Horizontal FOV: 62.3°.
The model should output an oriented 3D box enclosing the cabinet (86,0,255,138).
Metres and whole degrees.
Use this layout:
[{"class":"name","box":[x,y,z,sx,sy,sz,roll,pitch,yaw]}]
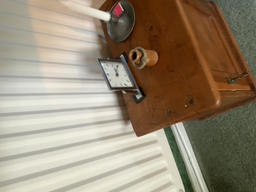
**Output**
[{"class":"cabinet","box":[0.190,-0.150,0.820,0.350,0.490,0.470,-30,71,43]}]
